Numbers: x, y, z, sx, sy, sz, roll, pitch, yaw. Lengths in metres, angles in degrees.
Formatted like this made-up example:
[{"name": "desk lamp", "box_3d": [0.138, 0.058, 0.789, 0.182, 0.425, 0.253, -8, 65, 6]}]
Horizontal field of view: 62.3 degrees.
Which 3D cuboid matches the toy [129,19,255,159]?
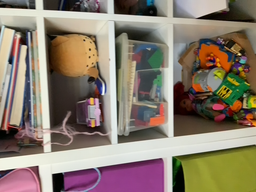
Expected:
[{"name": "toy", "box_3d": [0.250, -0.040, 0.840, 0.370, 0.390, 0.400, -162, 70, -71]}]
